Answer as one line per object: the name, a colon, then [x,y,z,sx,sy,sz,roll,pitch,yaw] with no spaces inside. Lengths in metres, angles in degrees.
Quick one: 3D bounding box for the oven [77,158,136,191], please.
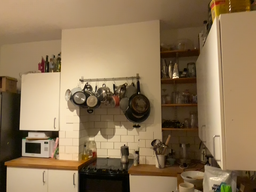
oven: [-0.240,1.310,2.670,0.590,0.870,0.600,-1,-3,12]
